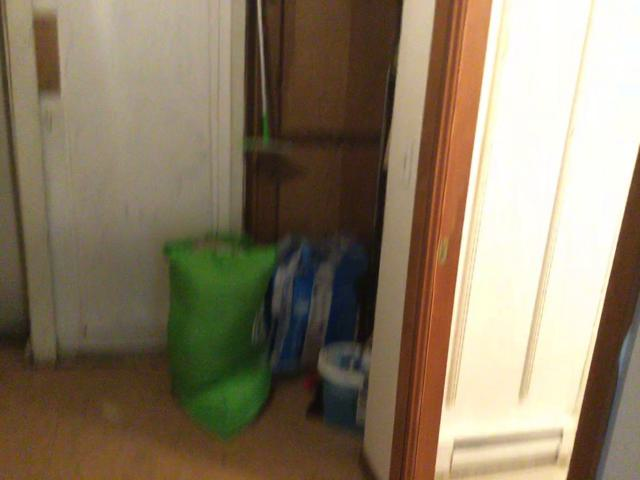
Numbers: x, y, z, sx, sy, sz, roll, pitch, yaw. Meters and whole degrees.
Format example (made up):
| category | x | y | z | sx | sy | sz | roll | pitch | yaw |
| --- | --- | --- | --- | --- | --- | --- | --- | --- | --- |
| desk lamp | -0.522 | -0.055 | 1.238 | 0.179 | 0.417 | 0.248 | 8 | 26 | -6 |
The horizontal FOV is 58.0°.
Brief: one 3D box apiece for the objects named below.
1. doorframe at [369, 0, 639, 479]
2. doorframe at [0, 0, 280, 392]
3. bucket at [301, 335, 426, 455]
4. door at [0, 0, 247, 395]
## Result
| category | x | y | z | sx | sy | sz | roll | pitch | yaw |
| --- | --- | --- | --- | --- | --- | --- | --- | --- | --- |
| doorframe | 0.460 | 0.120 | 1.270 | 0.220 | 1.980 | 0.970 | -1 | 18 | -16 |
| doorframe | -0.780 | -0.420 | 2.450 | 1.110 | 2.080 | 0.390 | -1 | 18 | -16 |
| bucket | 0.160 | 0.620 | 2.380 | 0.380 | 0.280 | 0.390 | -1 | 18 | -16 |
| door | -0.790 | -0.390 | 2.360 | 0.890 | 1.980 | 0.430 | -1 | 18 | -16 |
